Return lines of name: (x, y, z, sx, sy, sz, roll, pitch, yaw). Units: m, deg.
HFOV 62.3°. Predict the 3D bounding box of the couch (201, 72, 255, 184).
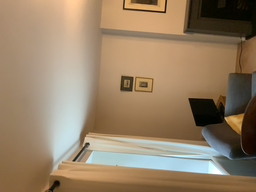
couch: (1.280, 0.230, 1.940, 0.850, 0.840, 0.810, -80, -5, -83)
